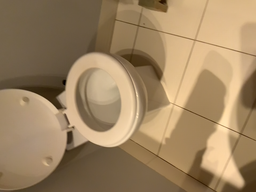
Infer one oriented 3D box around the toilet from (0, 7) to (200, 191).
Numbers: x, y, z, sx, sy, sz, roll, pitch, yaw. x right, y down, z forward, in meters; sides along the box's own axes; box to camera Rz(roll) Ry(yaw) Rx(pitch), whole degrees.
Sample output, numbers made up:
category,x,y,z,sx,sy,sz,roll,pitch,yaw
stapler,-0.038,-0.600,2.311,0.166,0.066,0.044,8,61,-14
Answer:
category,x,y,z,sx,sy,sz,roll,pitch,yaw
toilet,-0.150,0.030,0.870,0.500,0.810,0.390,-30,80,37
